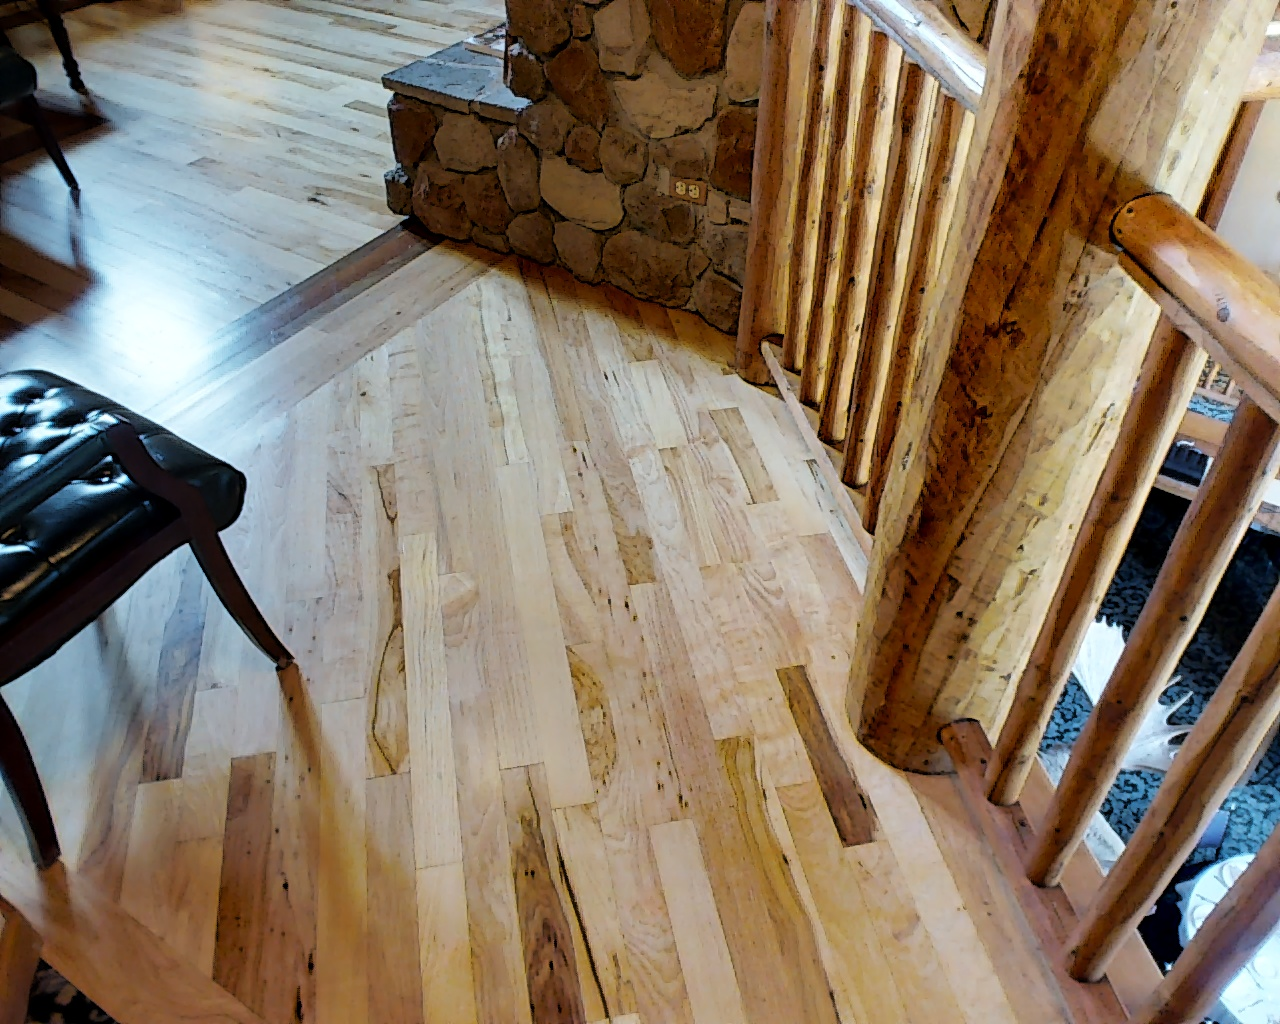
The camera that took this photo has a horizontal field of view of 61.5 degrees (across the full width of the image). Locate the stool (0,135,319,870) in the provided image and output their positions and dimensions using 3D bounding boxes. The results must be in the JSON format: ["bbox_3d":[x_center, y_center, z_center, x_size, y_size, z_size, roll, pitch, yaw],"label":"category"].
[{"bbox_3d":[-1.050,-0.050,1.710,0.630,0.810,0.650,24,47,24],"label":"stool"}]
